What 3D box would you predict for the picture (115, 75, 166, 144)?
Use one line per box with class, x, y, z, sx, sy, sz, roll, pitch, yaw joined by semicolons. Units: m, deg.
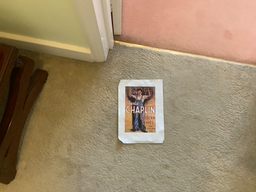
picture;0.060;0.060;0.980;0.230;0.020;0.310;2;81;-2
